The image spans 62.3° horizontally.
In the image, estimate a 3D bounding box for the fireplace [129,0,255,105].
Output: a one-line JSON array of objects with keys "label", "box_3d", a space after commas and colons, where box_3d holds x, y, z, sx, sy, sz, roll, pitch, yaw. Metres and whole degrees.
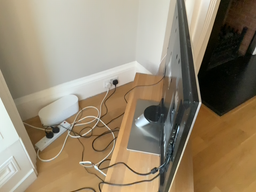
[{"label": "fireplace", "box_3d": [0.920, -0.910, 1.980, 1.740, 1.400, 0.570, -23, 48, -27]}]
